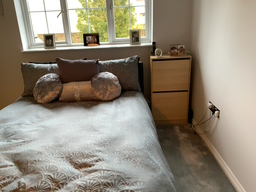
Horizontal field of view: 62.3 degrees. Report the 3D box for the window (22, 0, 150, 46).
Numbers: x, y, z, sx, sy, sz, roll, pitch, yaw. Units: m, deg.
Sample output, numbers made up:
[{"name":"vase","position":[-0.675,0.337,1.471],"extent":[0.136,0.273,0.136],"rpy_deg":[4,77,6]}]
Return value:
[{"name":"window","position":[-0.550,-1.130,2.860],"extent":[1.680,0.820,0.050],"rpy_deg":[-2,21,1]}]
